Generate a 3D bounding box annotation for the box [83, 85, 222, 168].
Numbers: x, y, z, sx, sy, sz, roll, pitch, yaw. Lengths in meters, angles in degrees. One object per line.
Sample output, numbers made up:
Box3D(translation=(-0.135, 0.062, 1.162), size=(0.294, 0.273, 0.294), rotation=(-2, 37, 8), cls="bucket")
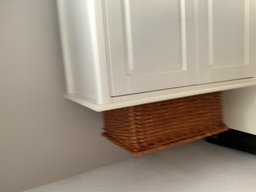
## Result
Box3D(translation=(0.110, 0.100, 1.160), size=(0.540, 0.230, 0.520), rotation=(-9, -169, -29), cls="box")
